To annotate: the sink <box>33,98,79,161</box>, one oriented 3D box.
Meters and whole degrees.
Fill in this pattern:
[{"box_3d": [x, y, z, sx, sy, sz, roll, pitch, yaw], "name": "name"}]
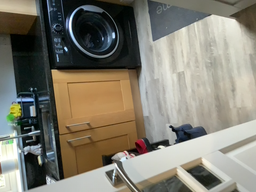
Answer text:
[{"box_3d": [-0.630, 0.270, 1.820, 0.390, 0.230, 0.450, -9, 88, 55], "name": "sink"}]
